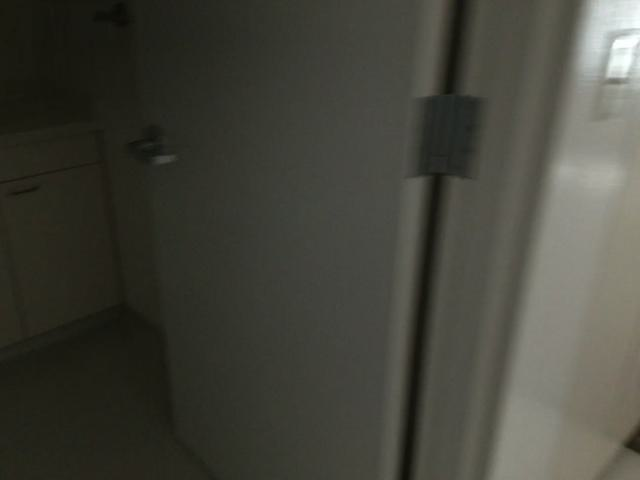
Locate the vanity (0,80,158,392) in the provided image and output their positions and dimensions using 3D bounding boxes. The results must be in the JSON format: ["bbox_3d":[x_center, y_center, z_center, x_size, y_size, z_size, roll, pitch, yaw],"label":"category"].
[{"bbox_3d":[-1.180,-0.030,2.130,0.800,0.910,0.550,-26,33,-36],"label":"vanity"}]
